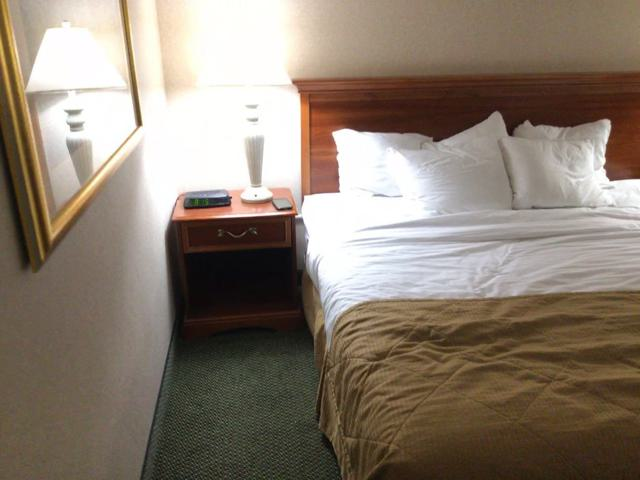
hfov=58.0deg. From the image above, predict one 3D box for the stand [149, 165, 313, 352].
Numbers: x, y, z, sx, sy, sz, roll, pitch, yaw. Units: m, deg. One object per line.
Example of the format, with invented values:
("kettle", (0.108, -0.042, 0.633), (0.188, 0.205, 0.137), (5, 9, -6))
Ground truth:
("stand", (-0.390, 0.070, 2.730), (0.610, 0.690, 0.460), (-8, 20, -3))
